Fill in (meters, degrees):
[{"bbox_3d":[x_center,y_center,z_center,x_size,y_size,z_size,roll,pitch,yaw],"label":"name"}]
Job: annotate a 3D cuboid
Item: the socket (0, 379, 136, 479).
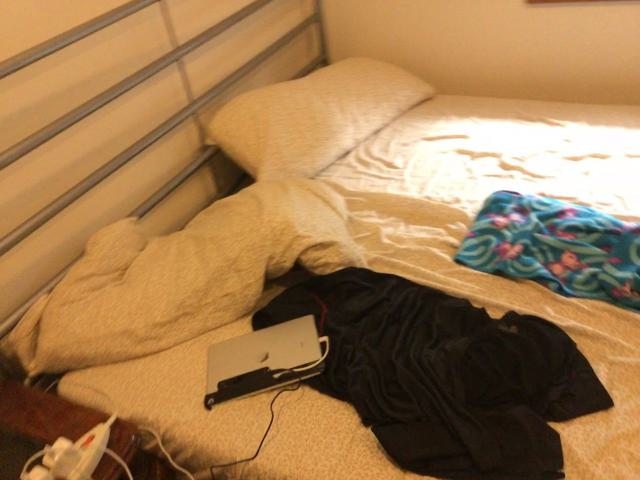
[{"bbox_3d":[-0.410,0.340,0.940,0.090,0.120,0.170,9,41,27],"label":"socket"}]
